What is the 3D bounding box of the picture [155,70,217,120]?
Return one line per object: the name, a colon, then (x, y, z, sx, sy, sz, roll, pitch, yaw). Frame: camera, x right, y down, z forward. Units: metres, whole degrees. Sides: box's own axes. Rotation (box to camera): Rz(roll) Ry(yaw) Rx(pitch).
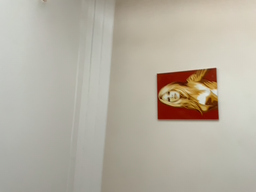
picture: (0.590, -0.010, 2.210, 0.020, 0.610, 0.490, 13, -101, -64)
